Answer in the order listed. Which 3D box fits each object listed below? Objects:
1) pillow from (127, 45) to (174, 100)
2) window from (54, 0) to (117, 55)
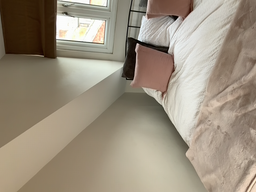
[{"bbox_3d":[0.230,-0.250,2.220,0.190,0.390,0.470,34,129,35],"label":"pillow"},{"bbox_3d":[-0.530,-1.030,2.650,0.120,0.730,0.980,-110,27,-57],"label":"window"}]
